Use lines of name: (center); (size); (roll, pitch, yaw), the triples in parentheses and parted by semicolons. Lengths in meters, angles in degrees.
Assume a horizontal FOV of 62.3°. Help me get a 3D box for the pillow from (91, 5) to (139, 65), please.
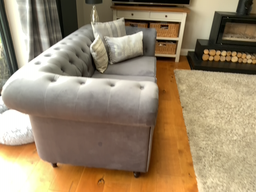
pillow: (-0.120, -0.650, 2.310); (0.380, 0.430, 0.290); (-33, 71, -9)

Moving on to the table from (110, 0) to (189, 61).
table: (0.330, -1.160, 3.670); (1.190, 0.870, 0.470); (6, 30, 4)

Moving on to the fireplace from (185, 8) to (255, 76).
fireplace: (1.780, -0.880, 3.410); (1.470, 0.790, 0.830); (6, 30, 4)
